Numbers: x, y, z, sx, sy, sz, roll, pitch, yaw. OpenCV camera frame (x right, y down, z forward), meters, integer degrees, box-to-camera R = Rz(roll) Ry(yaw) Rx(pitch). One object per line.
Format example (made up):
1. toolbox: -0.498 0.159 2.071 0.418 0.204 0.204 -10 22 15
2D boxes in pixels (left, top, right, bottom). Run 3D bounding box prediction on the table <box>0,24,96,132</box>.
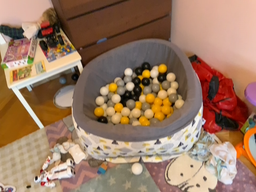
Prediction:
1. table: -0.660 -0.170 1.760 0.500 0.490 0.610 -24 48 -15
